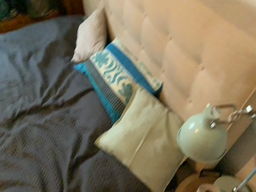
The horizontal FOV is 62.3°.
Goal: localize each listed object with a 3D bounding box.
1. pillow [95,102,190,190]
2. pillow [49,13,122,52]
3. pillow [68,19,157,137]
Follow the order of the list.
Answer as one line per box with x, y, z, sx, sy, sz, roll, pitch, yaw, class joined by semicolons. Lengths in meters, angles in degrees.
0.050;0.220;1.040;0.160;0.310;0.370;-46;104;-14;pillow
-0.310;-0.460;1.560;0.300;0.420;0.140;20;82;-58;pillow
-0.110;-0.110;1.250;0.280;0.190;0.610;-20;80;-19;pillow
